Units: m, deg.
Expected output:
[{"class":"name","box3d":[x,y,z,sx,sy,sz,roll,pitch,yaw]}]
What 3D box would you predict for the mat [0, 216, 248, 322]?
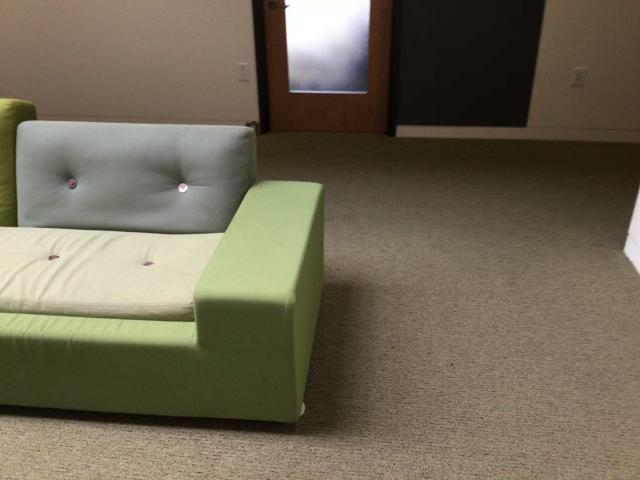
[{"class":"mat","box3d":[-0.960,0.070,1.880,1.380,0.080,0.490,1,29,2]}]
